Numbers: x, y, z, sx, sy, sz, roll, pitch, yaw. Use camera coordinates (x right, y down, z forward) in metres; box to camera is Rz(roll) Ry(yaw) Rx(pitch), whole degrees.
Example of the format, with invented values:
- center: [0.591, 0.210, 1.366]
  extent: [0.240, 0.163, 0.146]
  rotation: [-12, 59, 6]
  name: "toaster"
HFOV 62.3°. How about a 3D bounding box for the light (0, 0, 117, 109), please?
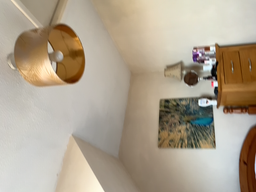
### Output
- center: [-0.430, -0.240, 1.350]
  extent: [0.400, 0.800, 0.410]
  rotation: [-15, -110, 16]
  name: "light"
